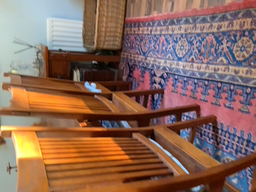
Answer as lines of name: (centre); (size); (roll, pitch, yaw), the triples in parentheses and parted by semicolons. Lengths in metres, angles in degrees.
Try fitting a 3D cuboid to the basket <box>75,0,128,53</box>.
basket: (-0.310, -0.820, 2.250); (0.610, 0.330, 0.640); (31, 120, 56)
